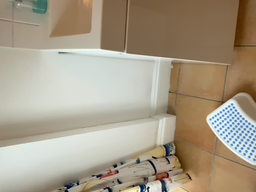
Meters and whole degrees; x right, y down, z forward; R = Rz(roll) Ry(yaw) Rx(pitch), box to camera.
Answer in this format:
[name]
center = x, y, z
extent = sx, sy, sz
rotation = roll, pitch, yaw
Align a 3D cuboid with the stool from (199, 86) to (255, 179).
[stool]
center = 0.570, 0.160, 1.020
extent = 0.350, 0.130, 0.250
rotation = 51, 127, 33
